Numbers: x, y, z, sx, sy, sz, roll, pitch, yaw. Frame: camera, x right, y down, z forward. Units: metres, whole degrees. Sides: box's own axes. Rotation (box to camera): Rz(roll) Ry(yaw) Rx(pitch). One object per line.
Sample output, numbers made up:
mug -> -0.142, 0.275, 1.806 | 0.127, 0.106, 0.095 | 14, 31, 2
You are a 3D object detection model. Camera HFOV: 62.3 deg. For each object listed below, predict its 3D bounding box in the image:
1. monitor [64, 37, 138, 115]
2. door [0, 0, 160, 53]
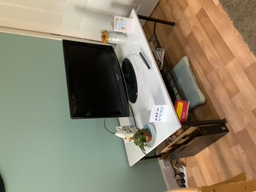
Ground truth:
monitor -> -0.260, -0.190, 1.920 | 0.060, 0.550, 0.780 | -53, 43, 48
door -> -0.750, -0.970, 2.360 | 0.870, 2.080, 0.210 | -50, 45, 50
